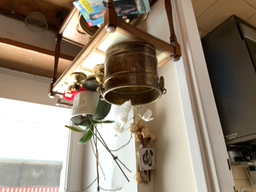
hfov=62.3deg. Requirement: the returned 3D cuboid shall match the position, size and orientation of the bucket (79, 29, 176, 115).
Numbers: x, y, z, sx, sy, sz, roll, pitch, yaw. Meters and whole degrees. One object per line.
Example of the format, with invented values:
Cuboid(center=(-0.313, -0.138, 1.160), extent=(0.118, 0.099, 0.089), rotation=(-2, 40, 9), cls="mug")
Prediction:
Cuboid(center=(-0.020, -0.070, 0.910), extent=(0.240, 0.170, 0.350), rotation=(15, 150, -33), cls="bucket")
